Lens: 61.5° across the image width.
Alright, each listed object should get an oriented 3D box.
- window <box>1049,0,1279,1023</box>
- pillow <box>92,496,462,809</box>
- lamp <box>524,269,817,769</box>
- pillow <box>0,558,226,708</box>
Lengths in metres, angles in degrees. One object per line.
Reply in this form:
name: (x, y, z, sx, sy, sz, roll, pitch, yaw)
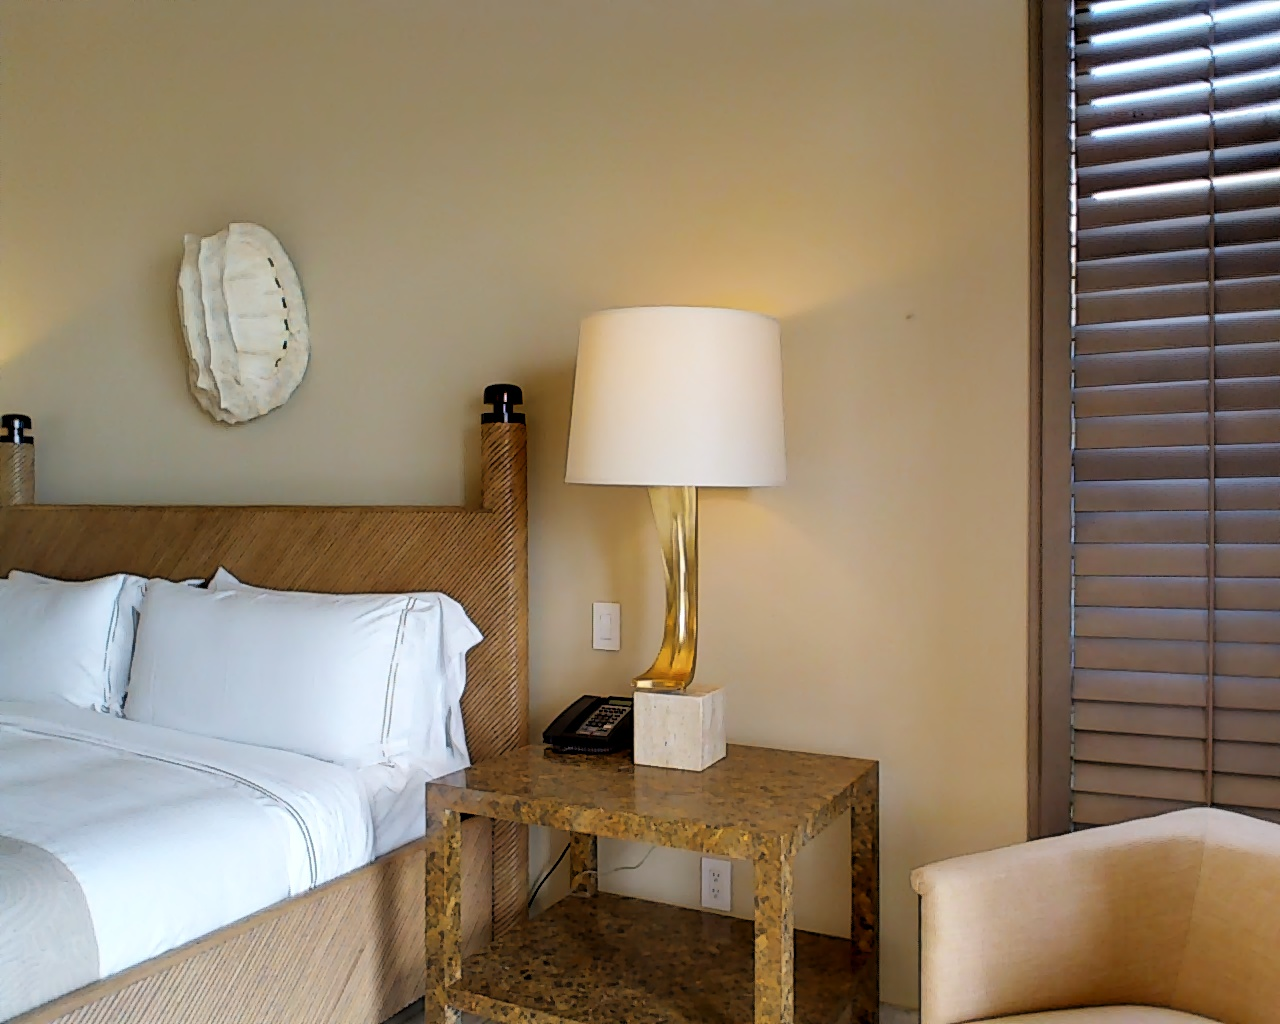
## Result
window: (1.140, -0.040, 2.110, 0.620, 2.410, 0.090, 0, 1, 27)
pillow: (-0.950, 0.320, 2.740, 1.000, 0.390, 0.200, 23, 11, 25)
lamp: (0.080, 0.010, 2.380, 0.490, 0.960, 0.450, 0, 1, 29)
pillow: (-1.780, 0.340, 3.270, 0.980, 0.350, 0.420, 0, 1, 27)
